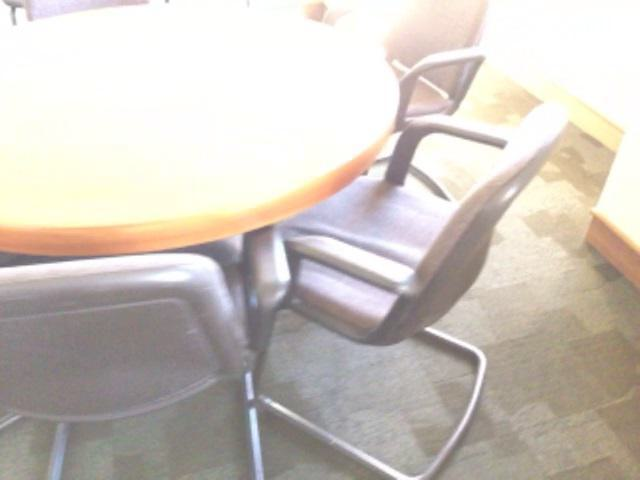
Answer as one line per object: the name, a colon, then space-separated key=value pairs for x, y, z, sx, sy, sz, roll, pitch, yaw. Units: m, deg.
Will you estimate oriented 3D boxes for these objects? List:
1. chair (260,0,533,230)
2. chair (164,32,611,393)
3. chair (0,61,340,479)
chair: x=0.210 y=-0.570 z=2.020 sx=0.580 sy=0.680 sz=0.680 roll=-19 pitch=43 yaw=-23
chair: x=0.130 y=-0.100 z=1.240 sx=0.670 sy=0.450 sz=0.600 roll=6 pitch=39 yaw=7
chair: x=-0.390 y=0.040 z=1.070 sx=0.670 sy=0.450 sz=0.630 roll=-11 pitch=40 yaw=-14
